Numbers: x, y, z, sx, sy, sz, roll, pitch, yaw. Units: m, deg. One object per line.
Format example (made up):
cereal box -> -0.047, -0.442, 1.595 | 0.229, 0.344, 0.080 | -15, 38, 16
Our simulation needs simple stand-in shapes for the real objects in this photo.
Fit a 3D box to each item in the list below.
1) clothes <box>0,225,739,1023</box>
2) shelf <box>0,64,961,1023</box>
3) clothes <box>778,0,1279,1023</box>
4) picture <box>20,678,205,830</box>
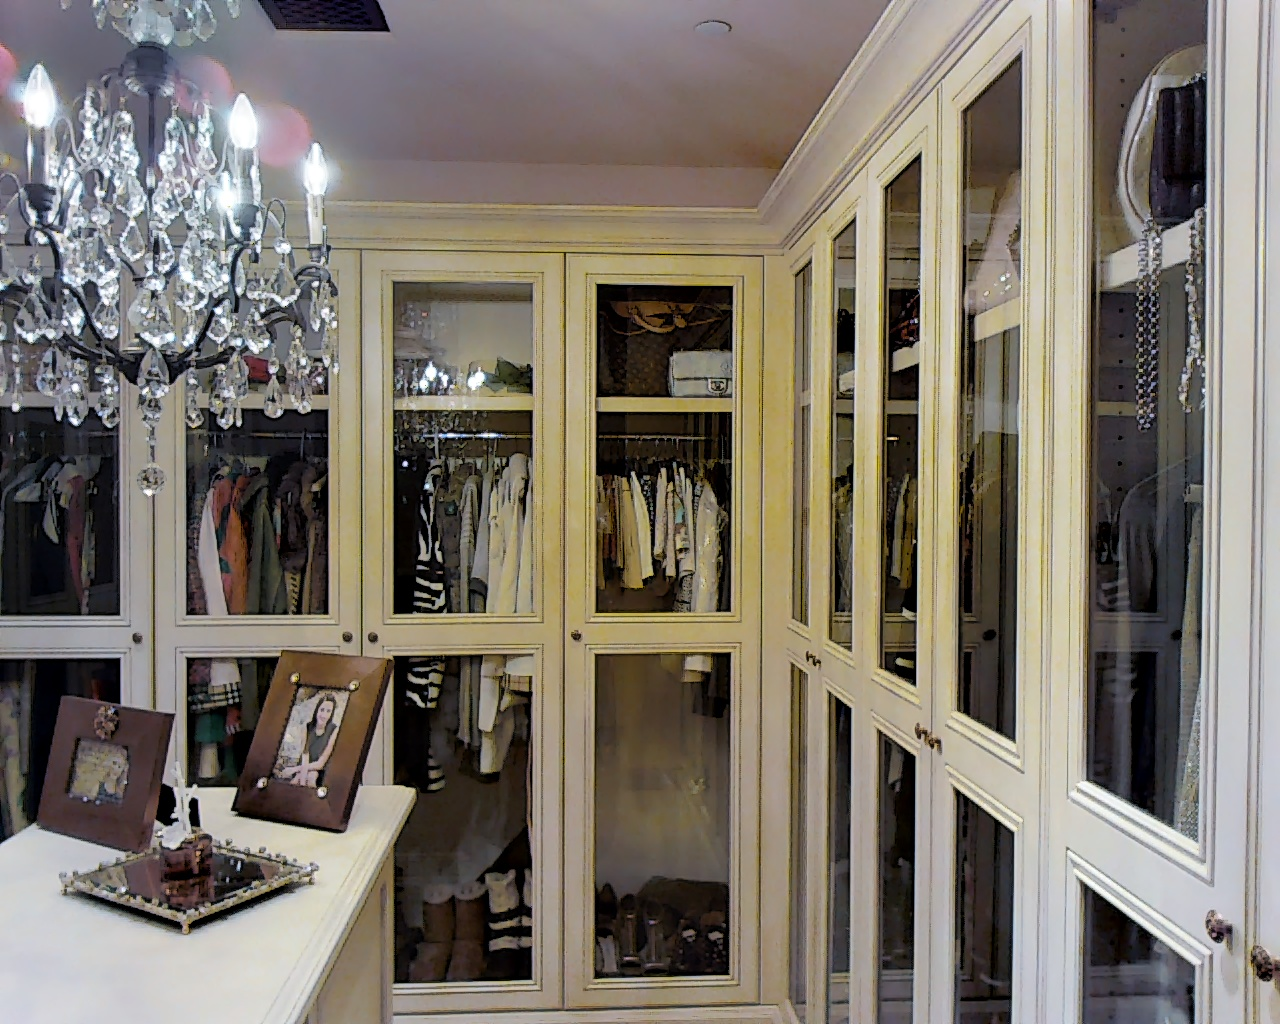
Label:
clothes -> -0.820, 0.320, 3.310 | 2.140, 2.190, 0.620 | 0, 1, -5
shelf -> -0.830, 0.170, 3.280 | 3.370, 2.700, 0.780 | 0, 1, -3
clothes -> 0.680, 0.380, 1.870 | 0.450, 1.940, 2.390 | 0, 1, -2
picture -> -0.830, 0.380, 1.680 | 0.280, 0.210, 0.080 | -8, 2, 27
